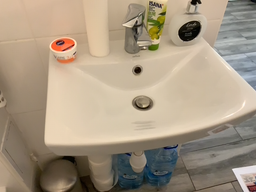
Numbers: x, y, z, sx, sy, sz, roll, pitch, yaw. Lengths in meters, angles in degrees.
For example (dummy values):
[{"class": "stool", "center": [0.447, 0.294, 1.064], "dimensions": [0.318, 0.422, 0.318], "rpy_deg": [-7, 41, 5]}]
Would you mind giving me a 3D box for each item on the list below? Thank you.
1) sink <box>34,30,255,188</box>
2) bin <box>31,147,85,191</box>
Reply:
[{"class": "sink", "center": [0.040, -0.010, 0.610], "dimensions": [0.520, 0.150, 0.380], "rpy_deg": [-8, 45, -10]}, {"class": "bin", "center": [-0.340, 0.440, 1.080], "dimensions": [0.200, 0.270, 0.210], "rpy_deg": [-7, 45, -9]}]
